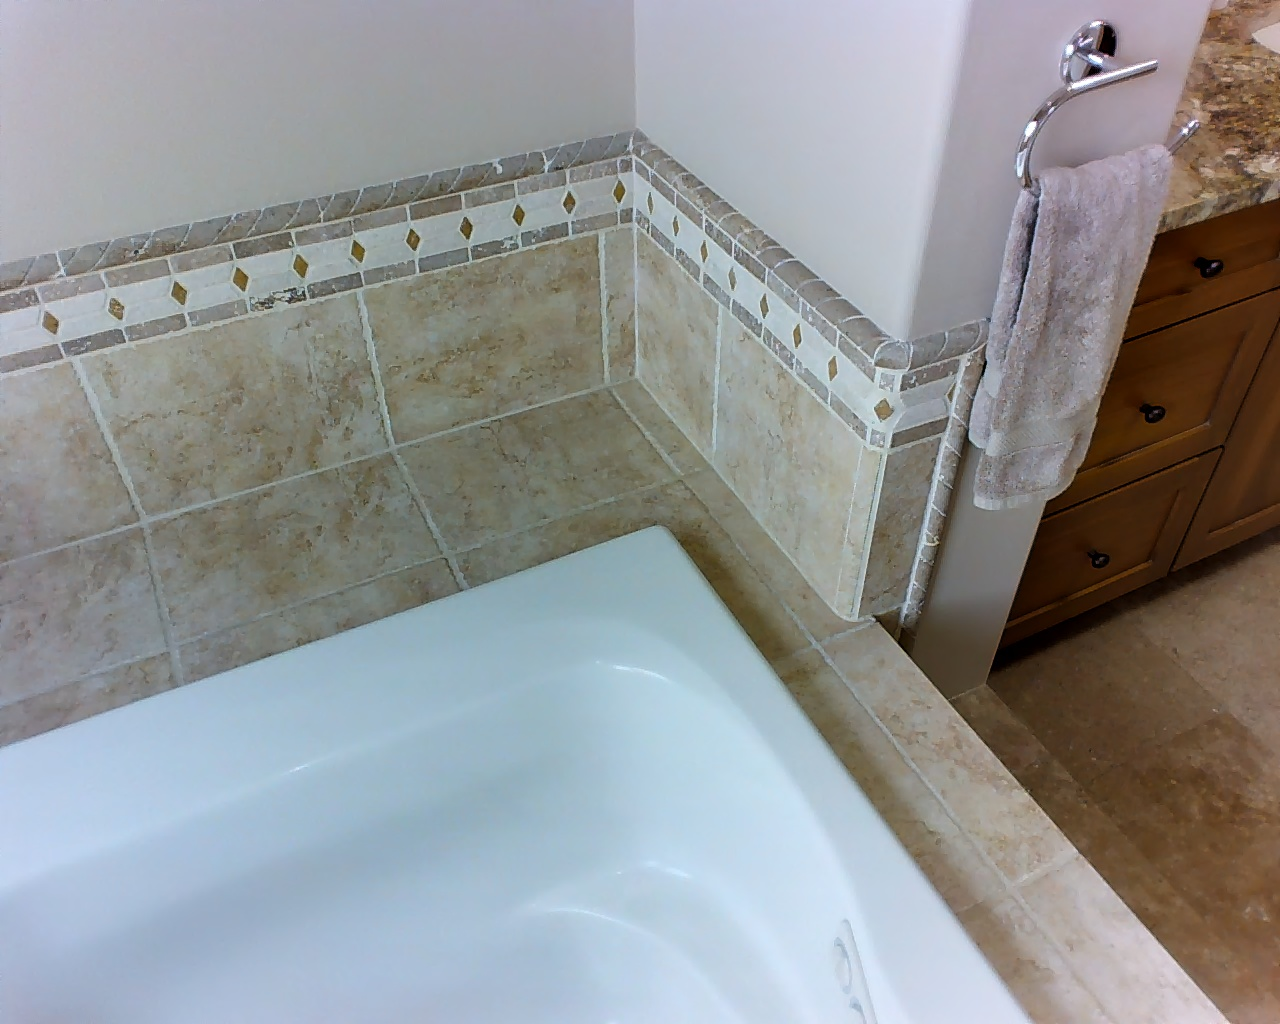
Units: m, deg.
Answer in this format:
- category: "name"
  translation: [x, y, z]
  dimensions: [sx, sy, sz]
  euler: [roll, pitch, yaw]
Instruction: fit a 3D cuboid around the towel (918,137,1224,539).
- category: "towel"
  translation: [0.430, -0.170, 1.110]
  dimensions: [0.200, 0.370, 0.100]
  euler: [-20, 45, -20]
